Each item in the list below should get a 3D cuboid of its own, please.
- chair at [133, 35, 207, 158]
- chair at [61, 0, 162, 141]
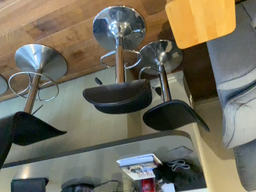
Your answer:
[{"bbox_3d":[0.280,-0.010,1.520,0.370,0.750,0.370,-11,142,13],"label":"chair"},{"bbox_3d":[-0.070,-0.180,1.290,0.390,0.750,0.370,-14,142,15],"label":"chair"}]
